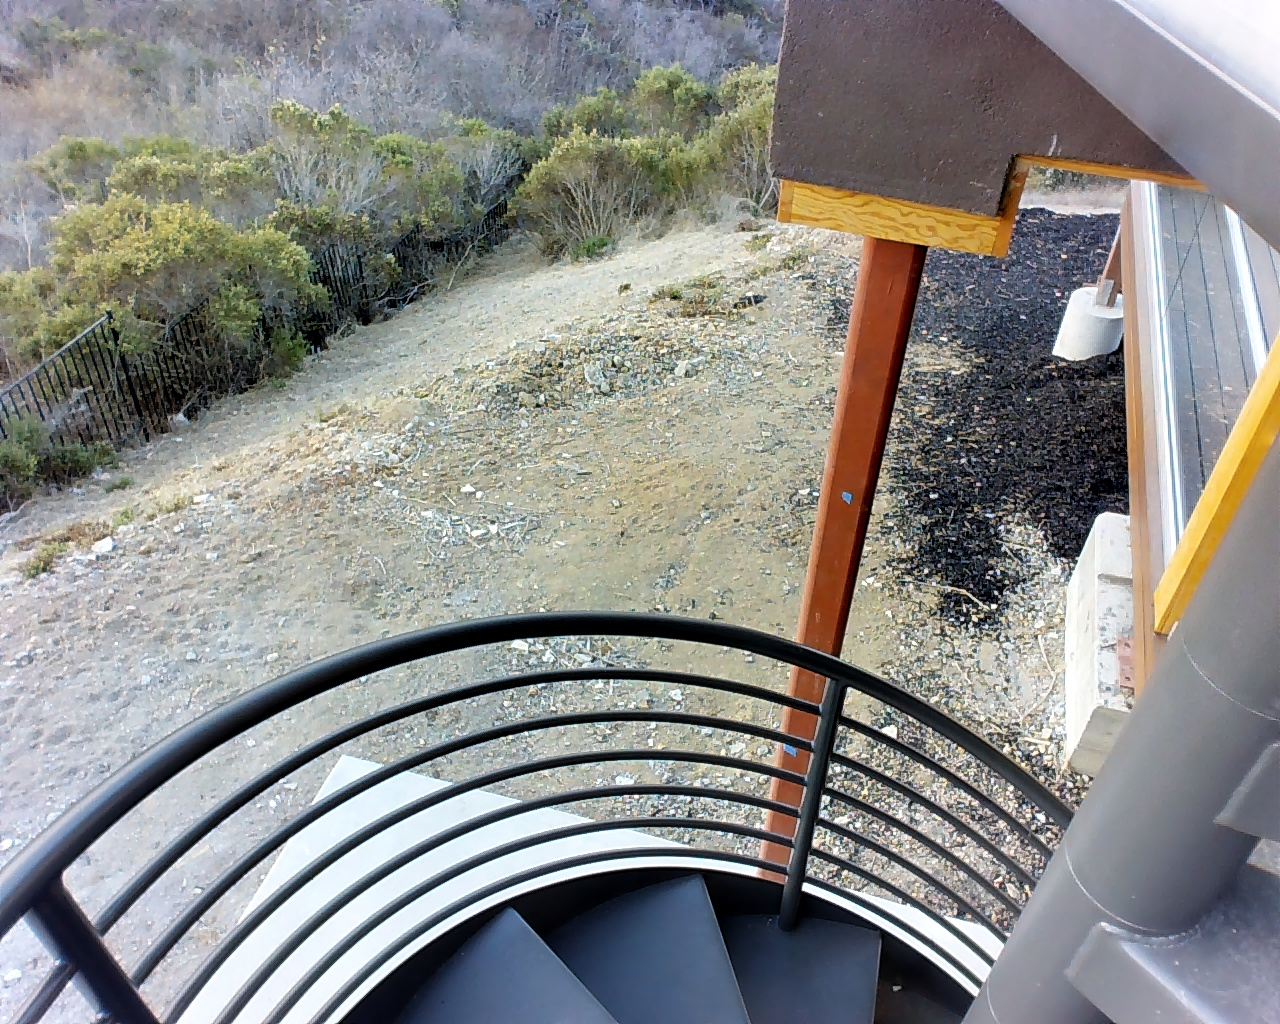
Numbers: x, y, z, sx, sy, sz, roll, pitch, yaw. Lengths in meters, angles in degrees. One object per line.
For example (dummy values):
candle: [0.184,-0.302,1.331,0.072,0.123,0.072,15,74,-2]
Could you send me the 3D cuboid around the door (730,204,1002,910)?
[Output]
door: [0.420,0.300,2.430,0.270,2.040,0.150,-3,41,-5]
